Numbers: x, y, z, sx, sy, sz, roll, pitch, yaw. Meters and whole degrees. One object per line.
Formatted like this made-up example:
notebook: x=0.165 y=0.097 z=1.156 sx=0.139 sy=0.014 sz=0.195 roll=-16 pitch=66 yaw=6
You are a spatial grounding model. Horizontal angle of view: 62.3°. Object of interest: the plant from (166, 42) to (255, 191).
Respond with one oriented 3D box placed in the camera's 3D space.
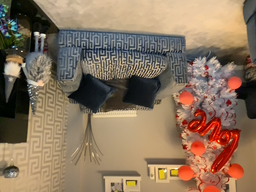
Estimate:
plant: x=1.150 y=0.460 z=2.890 sx=1.040 sy=2.110 sz=0.920 roll=-1 pitch=169 yaw=2
